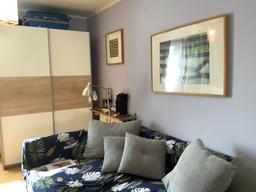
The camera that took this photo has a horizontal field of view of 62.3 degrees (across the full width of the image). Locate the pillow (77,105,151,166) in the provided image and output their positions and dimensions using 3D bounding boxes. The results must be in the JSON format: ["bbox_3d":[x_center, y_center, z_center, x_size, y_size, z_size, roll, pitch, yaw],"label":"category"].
[{"bbox_3d":[-0.170,0.520,2.740,0.790,0.460,0.260,-24,25,9],"label":"pillow"}]

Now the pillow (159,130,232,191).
[{"bbox_3d":[0.480,0.650,1.650,0.310,0.520,0.700,-7,12,0],"label":"pillow"}]

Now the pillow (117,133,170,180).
[{"bbox_3d":[0.180,0.620,2.260,0.490,0.320,0.390,1,7,16],"label":"pillow"}]

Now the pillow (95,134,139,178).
[{"bbox_3d":[-0.100,0.650,2.370,0.430,0.320,0.450,0,7,5],"label":"pillow"}]
